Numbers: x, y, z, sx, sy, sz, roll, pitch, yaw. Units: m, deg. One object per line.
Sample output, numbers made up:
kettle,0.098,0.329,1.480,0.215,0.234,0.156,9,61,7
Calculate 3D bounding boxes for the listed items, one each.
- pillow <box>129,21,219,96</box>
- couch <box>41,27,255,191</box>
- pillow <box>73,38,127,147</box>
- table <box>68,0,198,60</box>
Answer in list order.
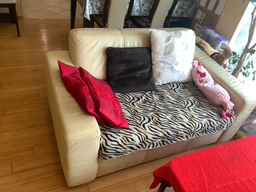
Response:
pillow,0.370,-0.350,1.880,0.520,0.450,0.450,-8,43,-24
couch,0.160,-0.020,1.760,1.480,0.730,0.950,-9,43,-24
pillow,-0.210,-0.010,1.390,0.180,0.580,0.490,-7,-2,-20
table,0.010,-1.120,3.040,1.520,0.760,0.870,-9,43,-24
